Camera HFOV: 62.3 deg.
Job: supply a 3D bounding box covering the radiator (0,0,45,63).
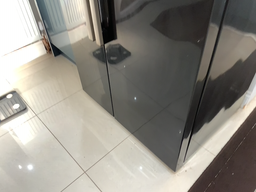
[{"bbox_3d":[-1.000,-0.560,1.560,0.590,0.620,0.100,-35,52,-29],"label":"radiator"}]
